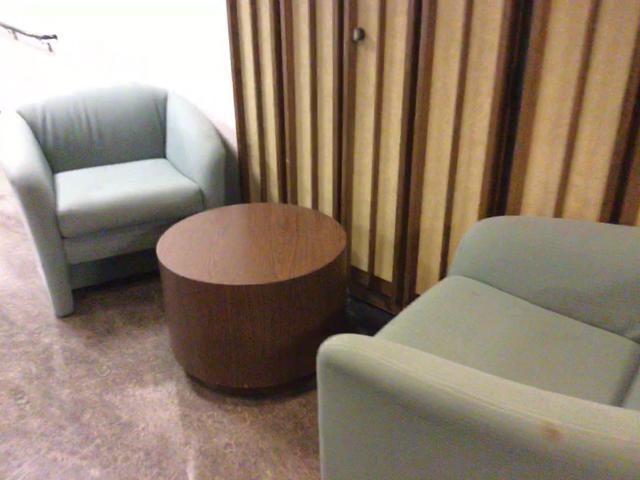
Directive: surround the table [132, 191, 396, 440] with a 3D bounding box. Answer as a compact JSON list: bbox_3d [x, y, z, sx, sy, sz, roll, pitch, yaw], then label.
[{"bbox_3d":[-0.200,0.190,2.020,0.630,0.500,0.660,-15,24,-33],"label":"table"}]
